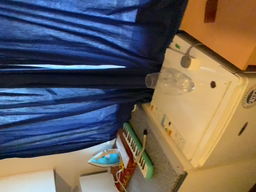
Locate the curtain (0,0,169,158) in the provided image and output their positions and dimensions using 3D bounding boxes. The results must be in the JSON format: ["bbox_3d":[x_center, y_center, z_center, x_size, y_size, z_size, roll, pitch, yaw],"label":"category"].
[{"bbox_3d":[-0.390,-0.250,0.890,0.060,1.140,1.390,-121,36,-47],"label":"curtain"}]
